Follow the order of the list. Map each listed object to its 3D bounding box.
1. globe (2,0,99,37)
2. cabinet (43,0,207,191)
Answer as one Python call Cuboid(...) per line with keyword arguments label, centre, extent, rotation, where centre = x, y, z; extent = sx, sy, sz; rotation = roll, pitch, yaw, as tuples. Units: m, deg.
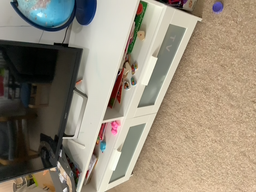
Cuboid(label="globe", centre=(-0.320, -0.410, 0.900), extent=(0.190, 0.320, 0.220), rotation=(39, 121, 35))
Cuboid(label="cabinet", centre=(-0.090, 0.030, 1.330), extent=(0.440, 0.540, 1.220), rotation=(38, 120, 35))
